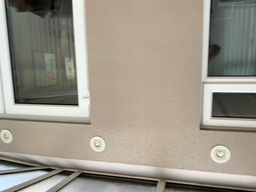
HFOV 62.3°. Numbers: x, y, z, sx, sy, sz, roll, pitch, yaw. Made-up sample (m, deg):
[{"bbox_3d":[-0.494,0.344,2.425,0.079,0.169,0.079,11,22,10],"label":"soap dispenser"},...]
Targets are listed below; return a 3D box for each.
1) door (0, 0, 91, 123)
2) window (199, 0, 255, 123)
[{"bbox_3d":[-1.220,-0.850,1.820,1.840,2.100,0.070,2,-170,17],"label":"door"},{"bbox_3d":[0.920,-0.280,1.440,0.800,0.910,0.160,1,-171,15],"label":"window"}]
